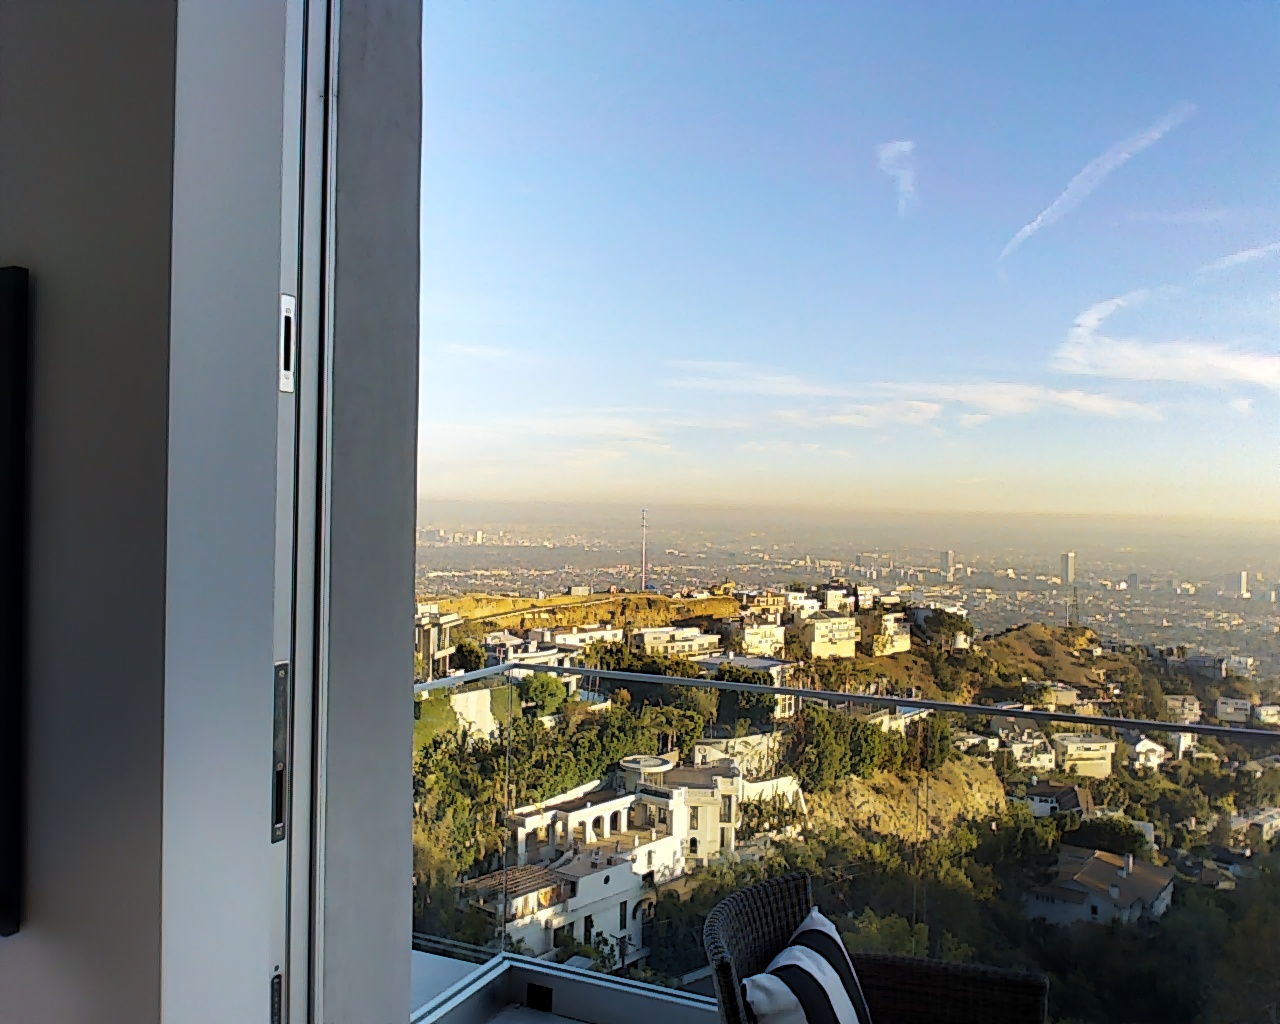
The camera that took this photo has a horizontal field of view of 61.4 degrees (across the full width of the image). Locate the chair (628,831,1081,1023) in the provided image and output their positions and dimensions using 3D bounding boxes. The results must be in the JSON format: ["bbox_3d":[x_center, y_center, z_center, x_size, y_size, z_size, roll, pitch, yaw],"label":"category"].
[{"bbox_3d":[0.490,1.190,2.220,0.760,0.790,0.770,-2,-1,23],"label":"chair"}]
